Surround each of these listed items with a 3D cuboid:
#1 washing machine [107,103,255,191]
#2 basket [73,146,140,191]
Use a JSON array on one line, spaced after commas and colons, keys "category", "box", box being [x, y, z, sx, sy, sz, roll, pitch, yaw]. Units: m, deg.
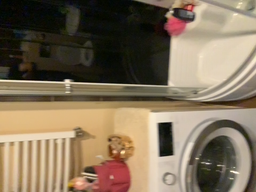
[{"category": "washing machine", "box": [0.370, 0.380, 1.350, 0.580, 0.840, 0.630, 3, 92, 61]}, {"category": "basket", "box": [-0.130, 0.460, 1.200, 0.250, 0.300, 0.260, 5, 94, 61]}]
